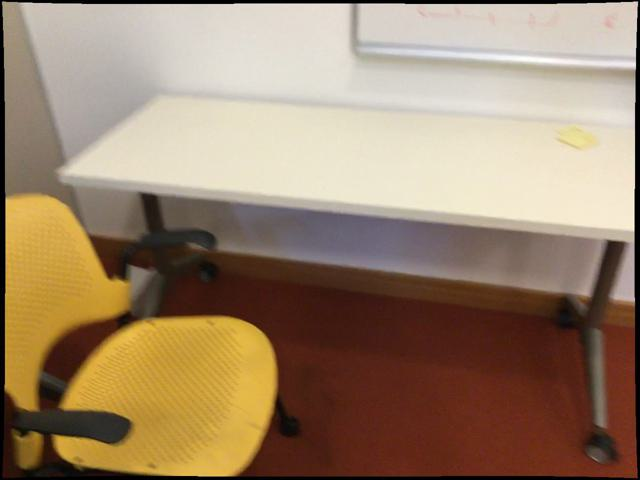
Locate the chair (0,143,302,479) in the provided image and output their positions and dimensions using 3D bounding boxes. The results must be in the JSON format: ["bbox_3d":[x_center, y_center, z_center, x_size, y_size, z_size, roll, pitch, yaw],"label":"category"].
[{"bbox_3d":[-0.440,0.290,1.320,0.679,0.771,0.570,8,35,9],"label":"chair"}]
